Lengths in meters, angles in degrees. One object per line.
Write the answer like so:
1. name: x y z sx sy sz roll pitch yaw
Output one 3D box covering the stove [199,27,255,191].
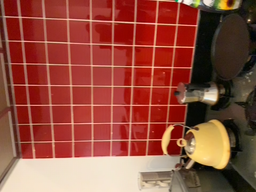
1. stove: 0.460 0.020 0.900 0.510 0.020 0.590 -114 26 -73
